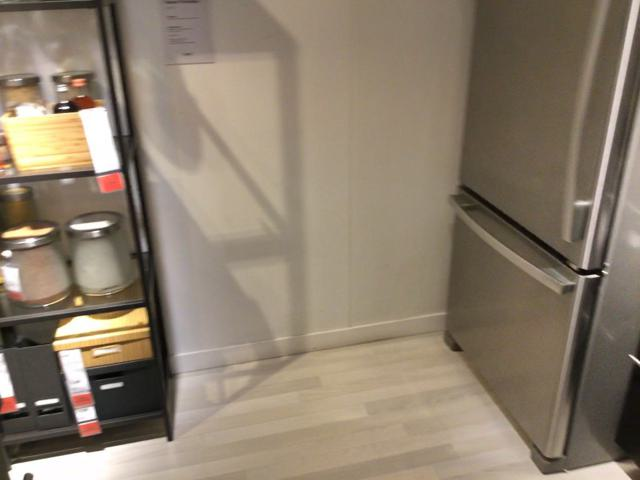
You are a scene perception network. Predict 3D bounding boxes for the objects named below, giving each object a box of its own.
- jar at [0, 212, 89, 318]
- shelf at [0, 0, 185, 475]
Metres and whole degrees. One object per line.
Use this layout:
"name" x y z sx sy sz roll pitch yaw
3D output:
"jar" -0.820 0.070 1.730 0.180 0.240 0.190 -6 25 -12
"shelf" -1.020 -0.230 1.570 1.070 1.890 0.420 -6 25 -12
